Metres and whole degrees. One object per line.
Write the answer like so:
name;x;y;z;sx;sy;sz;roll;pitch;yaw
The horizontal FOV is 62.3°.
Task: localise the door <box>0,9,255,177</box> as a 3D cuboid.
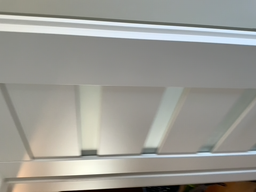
door;0.560;0.110;0.840;0.750;2.210;0.080;105;163;-51
